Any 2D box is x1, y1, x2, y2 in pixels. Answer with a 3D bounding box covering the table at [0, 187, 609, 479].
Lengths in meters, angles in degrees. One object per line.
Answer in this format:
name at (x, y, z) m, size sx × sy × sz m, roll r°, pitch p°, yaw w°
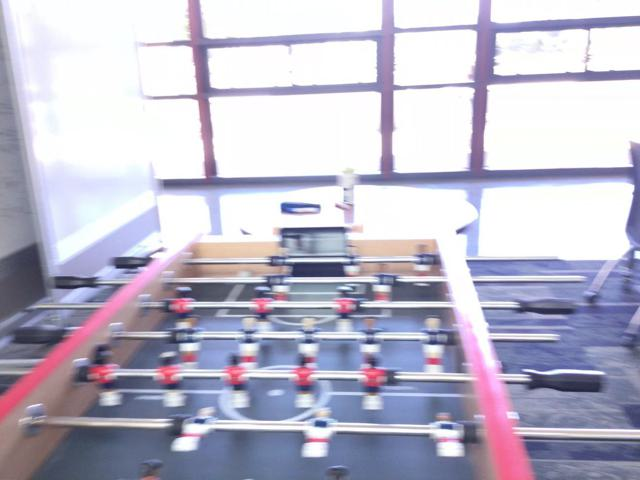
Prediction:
table at (-0.030, 0.570, 1.210) m, size 0.860 × 0.920 × 1.480 m, roll -7°, pitch 19°, yaw 7°
